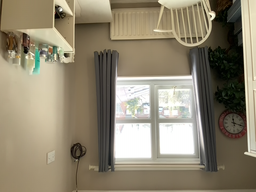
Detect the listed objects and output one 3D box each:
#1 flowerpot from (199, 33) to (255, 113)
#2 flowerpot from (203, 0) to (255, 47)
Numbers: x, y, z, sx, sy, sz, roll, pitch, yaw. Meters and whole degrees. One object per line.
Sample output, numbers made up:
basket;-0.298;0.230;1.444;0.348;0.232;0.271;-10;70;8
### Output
flowerpot;1.140;-0.220;2.310;0.560;0.800;0.390;-1;174;2
flowerpot;1.170;-0.990;2.380;0.500;0.730;0.450;-1;174;3
